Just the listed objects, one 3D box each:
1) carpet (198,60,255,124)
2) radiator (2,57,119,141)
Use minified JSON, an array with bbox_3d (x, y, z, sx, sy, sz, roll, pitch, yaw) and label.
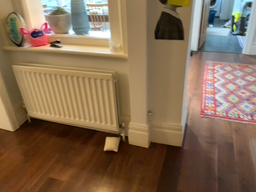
[{"bbox_3d":[1.410,-0.130,2.670,0.950,0.080,1.490,7,31,17],"label":"carpet"},{"bbox_3d":[-0.570,0.010,1.890,0.930,0.600,0.230,7,31,17],"label":"radiator"}]
